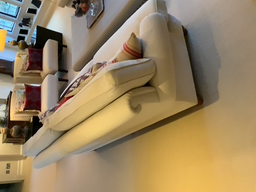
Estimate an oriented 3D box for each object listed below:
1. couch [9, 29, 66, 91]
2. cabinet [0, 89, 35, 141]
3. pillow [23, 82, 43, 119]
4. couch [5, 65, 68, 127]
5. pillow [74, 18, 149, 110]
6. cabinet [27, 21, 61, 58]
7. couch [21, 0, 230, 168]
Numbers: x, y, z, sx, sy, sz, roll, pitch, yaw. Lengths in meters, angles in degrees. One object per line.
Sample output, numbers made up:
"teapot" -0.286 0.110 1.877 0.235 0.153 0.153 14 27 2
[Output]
"couch" -1.930 -0.710 4.540 0.900 0.880 0.810 -32 58 45
"cabinet" -3.150 0.560 6.040 0.640 0.710 1.290 -32 58 45
"pillow" -1.850 0.090 4.130 0.370 0.320 0.620 -36 57 57
"couch" -1.830 0.060 4.230 0.910 0.900 0.850 -32 58 45
"pillow" -0.090 -0.190 1.700 0.800 0.430 0.270 82 174 -68
"cabinet" -1.960 -1.300 4.960 0.550 0.590 0.490 -32 58 45
"couch" -0.350 0.020 2.300 2.240 0.930 1.100 -32 58 45
